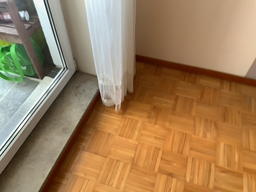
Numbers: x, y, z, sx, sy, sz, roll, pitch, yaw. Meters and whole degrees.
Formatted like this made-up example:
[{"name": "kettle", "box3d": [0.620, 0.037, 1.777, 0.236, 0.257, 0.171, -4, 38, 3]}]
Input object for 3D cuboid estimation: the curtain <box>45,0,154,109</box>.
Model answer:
[{"name": "curtain", "box3d": [-0.110, -0.990, 0.750, 0.350, 2.500, 0.620, 21, 53, 16]}]
